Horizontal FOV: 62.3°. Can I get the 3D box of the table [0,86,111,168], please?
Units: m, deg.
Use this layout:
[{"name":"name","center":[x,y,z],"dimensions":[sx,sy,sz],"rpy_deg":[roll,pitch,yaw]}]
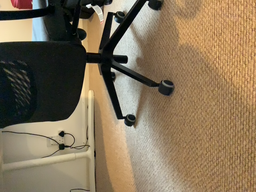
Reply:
[{"name":"table","center":[-0.570,0.150,1.500],"dimensions":[0.570,0.730,0.410],"rpy_deg":[10,101,63]}]
